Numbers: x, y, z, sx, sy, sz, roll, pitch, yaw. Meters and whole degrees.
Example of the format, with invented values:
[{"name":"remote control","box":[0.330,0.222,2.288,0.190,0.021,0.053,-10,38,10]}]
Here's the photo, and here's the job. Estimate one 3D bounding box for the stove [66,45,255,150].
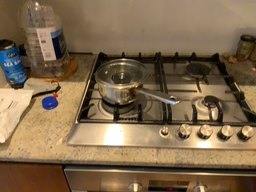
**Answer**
[{"name":"stove","box":[0.130,-0.050,0.800,0.570,0.030,0.580,1,38,2]}]
